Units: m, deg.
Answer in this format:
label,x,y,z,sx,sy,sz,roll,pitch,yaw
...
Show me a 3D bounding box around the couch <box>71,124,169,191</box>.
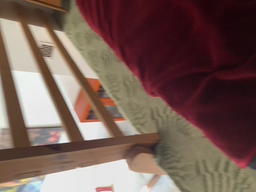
label,x,y,z,sx,sy,sz,roll,pitch,yaw
couch,-0.310,1.780,4.480,1.070,0.870,2.210,52,125,38
